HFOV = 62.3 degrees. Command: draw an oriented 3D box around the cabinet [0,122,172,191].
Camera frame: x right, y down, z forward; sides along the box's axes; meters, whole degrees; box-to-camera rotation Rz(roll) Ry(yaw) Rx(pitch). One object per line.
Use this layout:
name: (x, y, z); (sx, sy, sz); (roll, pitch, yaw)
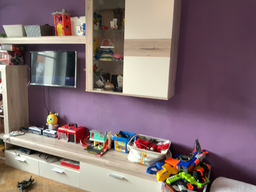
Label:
cabinet: (-0.590, 0.760, 2.560); (2.110, 0.450, 0.450); (7, 12, 22)

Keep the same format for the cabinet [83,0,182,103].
cabinet: (0.020, -0.510, 2.150); (0.920, 1.010, 0.320); (7, 12, 22)
